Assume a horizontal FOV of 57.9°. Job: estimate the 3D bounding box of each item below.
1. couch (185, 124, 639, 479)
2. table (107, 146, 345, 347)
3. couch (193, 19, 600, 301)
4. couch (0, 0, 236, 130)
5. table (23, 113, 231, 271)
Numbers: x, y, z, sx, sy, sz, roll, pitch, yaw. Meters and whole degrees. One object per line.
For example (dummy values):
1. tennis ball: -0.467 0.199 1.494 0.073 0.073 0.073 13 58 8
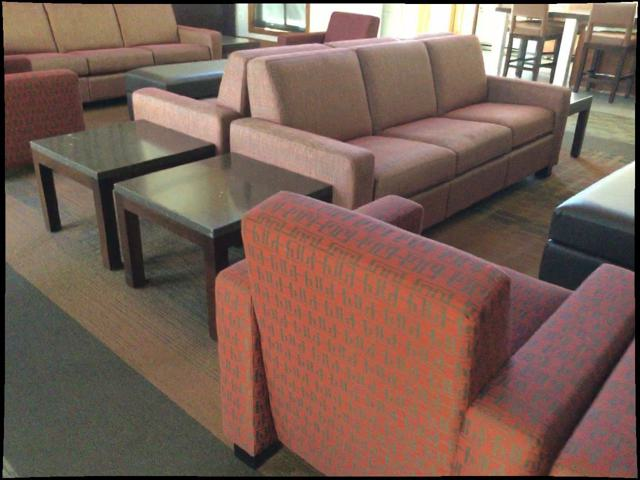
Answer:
1. couch: 0.290 0.270 1.430 0.730 0.861 0.930 -24 32 -39
2. table: -0.370 -0.030 2.380 0.660 0.480 0.660 20 33 41
3. couch: 0.549 -0.631 3.140 2.199 0.911 0.890 -24 32 -39
4. couch: -2.008 -1.712 5.260 2.339 0.891 0.860 -24 32 -39
5. table: -0.929 -0.280 2.840 0.660 0.490 0.670 20 33 41
